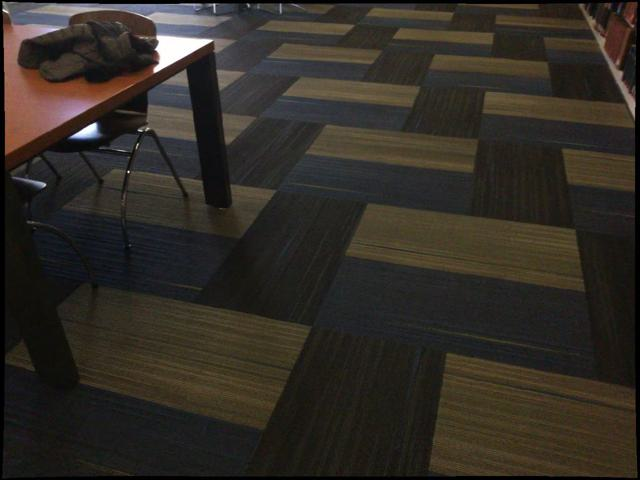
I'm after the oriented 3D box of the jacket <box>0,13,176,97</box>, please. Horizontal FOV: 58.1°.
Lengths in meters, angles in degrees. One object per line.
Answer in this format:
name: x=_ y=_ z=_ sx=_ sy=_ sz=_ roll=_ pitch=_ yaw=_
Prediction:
jacket: x=-0.858 y=-0.672 z=2.040 sx=0.489 sy=0.150 sz=0.500 roll=7 pitch=33 yaw=13
